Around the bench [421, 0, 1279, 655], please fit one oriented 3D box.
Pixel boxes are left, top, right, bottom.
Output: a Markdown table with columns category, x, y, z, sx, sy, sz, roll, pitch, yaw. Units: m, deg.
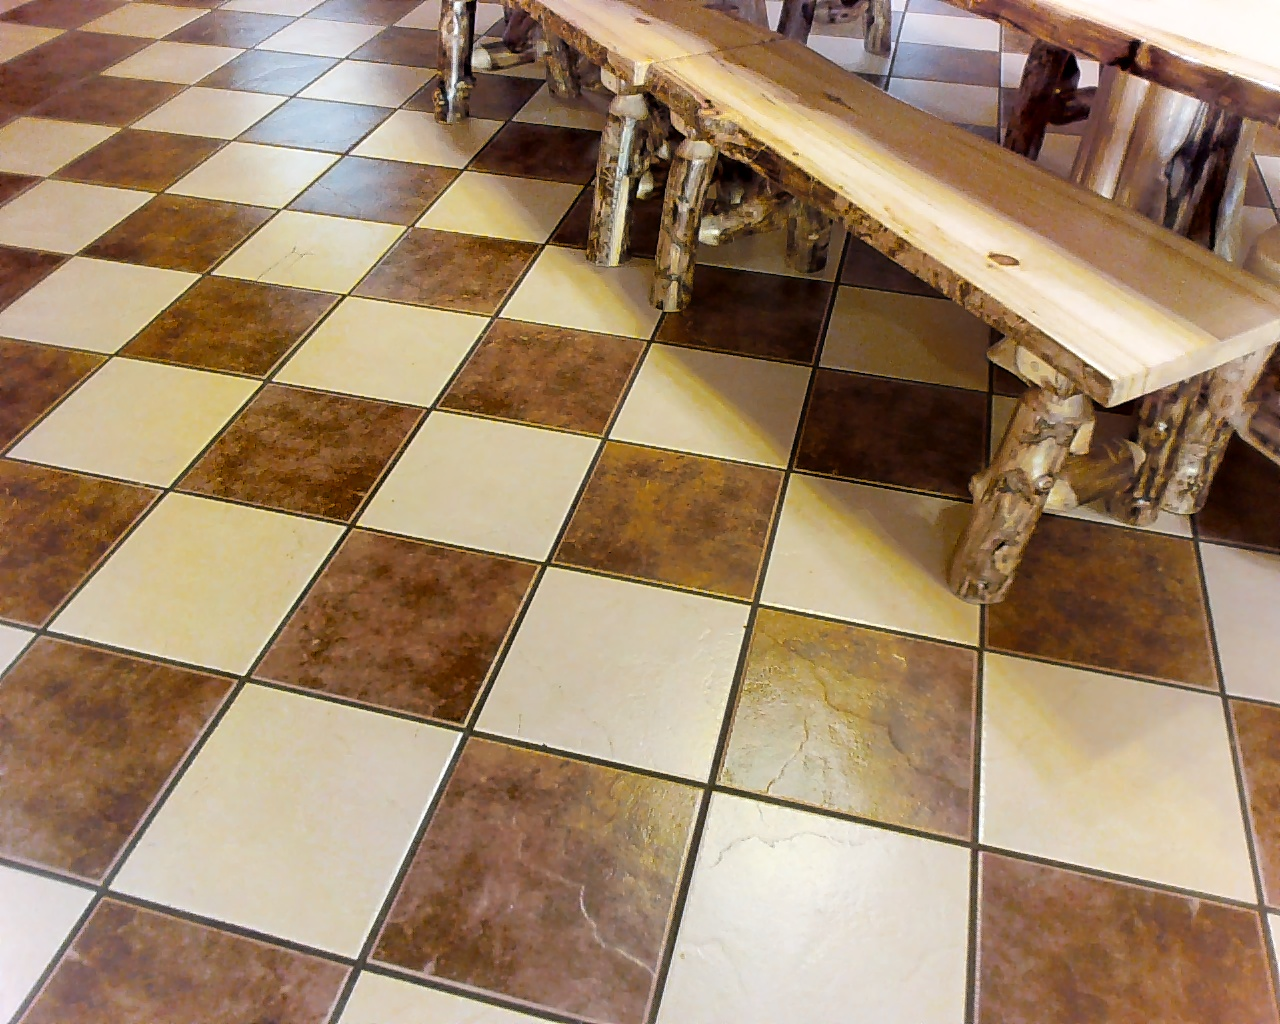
| category | x | y | z | sx | sy | sz | roll | pitch | yaw |
| --- | --- | --- | --- | --- | --- | --- | --- | --- | --- |
| bench | 0.220 | -0.800 | 2.330 | 0.560 | 0.500 | 2.520 | -19 | 45 | -21 |

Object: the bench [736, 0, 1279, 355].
| category | x | y | z | sx | sy | sz | roll | pitch | yaw |
| --- | --- | --- | --- | --- | --- | --- | --- | --- | --- |
| bench | 1.180 | -1.060 | 2.620 | 0.610 | 0.510 | 2.490 | -20 | 45 | -21 |
